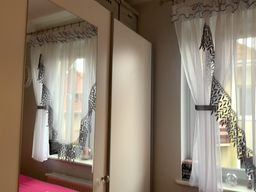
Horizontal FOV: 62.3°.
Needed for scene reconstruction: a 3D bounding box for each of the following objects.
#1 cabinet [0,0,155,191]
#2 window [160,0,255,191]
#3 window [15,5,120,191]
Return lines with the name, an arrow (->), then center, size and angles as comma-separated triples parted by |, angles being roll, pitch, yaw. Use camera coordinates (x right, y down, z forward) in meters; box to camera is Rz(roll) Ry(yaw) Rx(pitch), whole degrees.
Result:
cabinet -> -0.410, 0.520, 1.490 | 0.670, 2.200, 1.520 | 0, -4, 27
window -> 1.030, -0.090, 1.510 | 1.550, 1.630, 0.270 | 0, -4, 27
window -> -0.750, 0.050, 2.480 | 1.330, 1.900, 0.240 | 0, -4, 29
